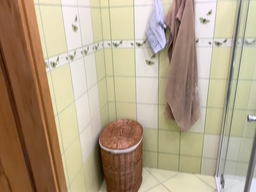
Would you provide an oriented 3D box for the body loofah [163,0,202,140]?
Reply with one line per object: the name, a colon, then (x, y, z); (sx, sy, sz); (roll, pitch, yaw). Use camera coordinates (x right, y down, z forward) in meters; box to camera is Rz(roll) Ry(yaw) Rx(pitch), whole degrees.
body loofah: (0.410, -0.190, 1.680); (0.230, 1.120, 0.180); (2, 21, 10)
